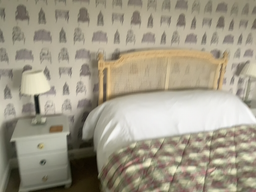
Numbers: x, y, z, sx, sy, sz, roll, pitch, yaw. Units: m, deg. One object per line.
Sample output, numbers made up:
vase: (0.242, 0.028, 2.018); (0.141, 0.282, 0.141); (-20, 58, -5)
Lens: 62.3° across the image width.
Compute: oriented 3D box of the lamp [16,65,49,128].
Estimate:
lamp: (-0.840, -0.010, 1.910); (0.210, 0.500, 0.260); (-4, 19, -18)
